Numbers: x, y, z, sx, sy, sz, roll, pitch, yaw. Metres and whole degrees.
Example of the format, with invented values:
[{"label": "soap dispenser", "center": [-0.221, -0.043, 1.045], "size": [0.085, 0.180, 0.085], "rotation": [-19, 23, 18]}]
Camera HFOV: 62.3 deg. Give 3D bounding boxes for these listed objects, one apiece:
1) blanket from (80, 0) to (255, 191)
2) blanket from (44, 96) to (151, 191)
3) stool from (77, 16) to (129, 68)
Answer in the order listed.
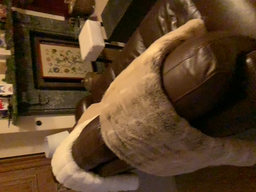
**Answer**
[{"label": "blanket", "center": [0.210, 0.030, 1.020], "size": [0.540, 0.620, 0.760], "rotation": [-40, 57, 50]}, {"label": "blanket", "center": [-0.290, 0.430, 1.750], "size": [0.510, 0.610, 0.720], "rotation": [-39, 58, 50]}, {"label": "stool", "center": [-0.330, -0.660, 2.680], "size": [0.420, 0.460, 0.400], "rotation": [-43, 55, 48]}]
